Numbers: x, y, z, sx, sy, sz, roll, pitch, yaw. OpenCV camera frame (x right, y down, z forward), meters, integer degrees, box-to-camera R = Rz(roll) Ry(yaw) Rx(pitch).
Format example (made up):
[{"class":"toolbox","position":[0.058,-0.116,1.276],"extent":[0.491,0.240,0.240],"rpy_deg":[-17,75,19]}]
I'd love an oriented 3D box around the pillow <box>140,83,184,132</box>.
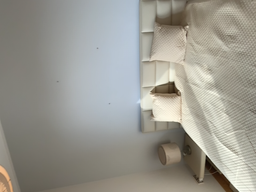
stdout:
[{"class":"pillow","position":[0.390,0.130,2.450],"extent":[0.210,0.370,0.410],"rpy_deg":[-125,15,-64]}]

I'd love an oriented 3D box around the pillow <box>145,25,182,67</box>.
[{"class":"pillow","position":[0.380,-0.530,2.240],"extent":[0.160,0.270,0.340],"rpy_deg":[-127,15,-65]}]
